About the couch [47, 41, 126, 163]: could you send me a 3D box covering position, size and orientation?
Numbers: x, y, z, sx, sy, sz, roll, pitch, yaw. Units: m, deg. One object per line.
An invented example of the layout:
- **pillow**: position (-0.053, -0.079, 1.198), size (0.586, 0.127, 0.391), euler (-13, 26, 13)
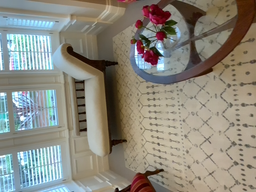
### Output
- **couch**: position (-0.640, 0.060, 3.190), size (0.700, 0.820, 1.550), euler (-4, 91, 59)

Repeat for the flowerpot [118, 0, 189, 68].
- **flowerpot**: position (0.160, -0.410, 1.530), size (0.470, 0.250, 0.360), euler (1, 96, 59)
